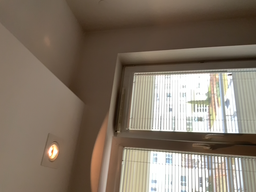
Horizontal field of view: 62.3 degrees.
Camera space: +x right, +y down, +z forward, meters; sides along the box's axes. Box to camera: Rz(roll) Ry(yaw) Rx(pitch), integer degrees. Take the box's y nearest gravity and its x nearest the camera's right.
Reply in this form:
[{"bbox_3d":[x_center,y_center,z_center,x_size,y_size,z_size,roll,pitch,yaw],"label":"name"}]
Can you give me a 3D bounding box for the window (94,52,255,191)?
[{"bbox_3d":[0.540,0.330,1.520,0.150,1.460,1.490,67,-153,-58],"label":"window"}]
